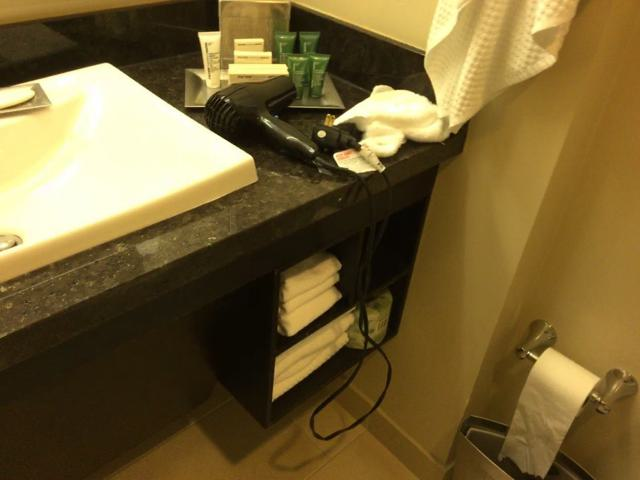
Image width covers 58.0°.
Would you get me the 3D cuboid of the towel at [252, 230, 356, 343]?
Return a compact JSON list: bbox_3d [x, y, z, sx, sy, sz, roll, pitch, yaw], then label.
[{"bbox_3d":[-0.030,0.080,1.040,0.150,0.120,0.100,-26,46,-38],"label":"towel"}]
